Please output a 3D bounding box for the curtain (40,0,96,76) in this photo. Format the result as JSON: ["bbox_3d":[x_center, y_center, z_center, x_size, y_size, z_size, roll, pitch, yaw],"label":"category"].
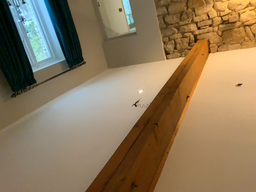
[{"bbox_3d":[-1.130,-1.540,3.560,0.220,2.320,0.610,-4,-157,28],"label":"curtain"}]

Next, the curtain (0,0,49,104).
[{"bbox_3d":[-1.650,-1.000,2.690,0.150,2.220,0.490,-4,-157,28],"label":"curtain"}]
